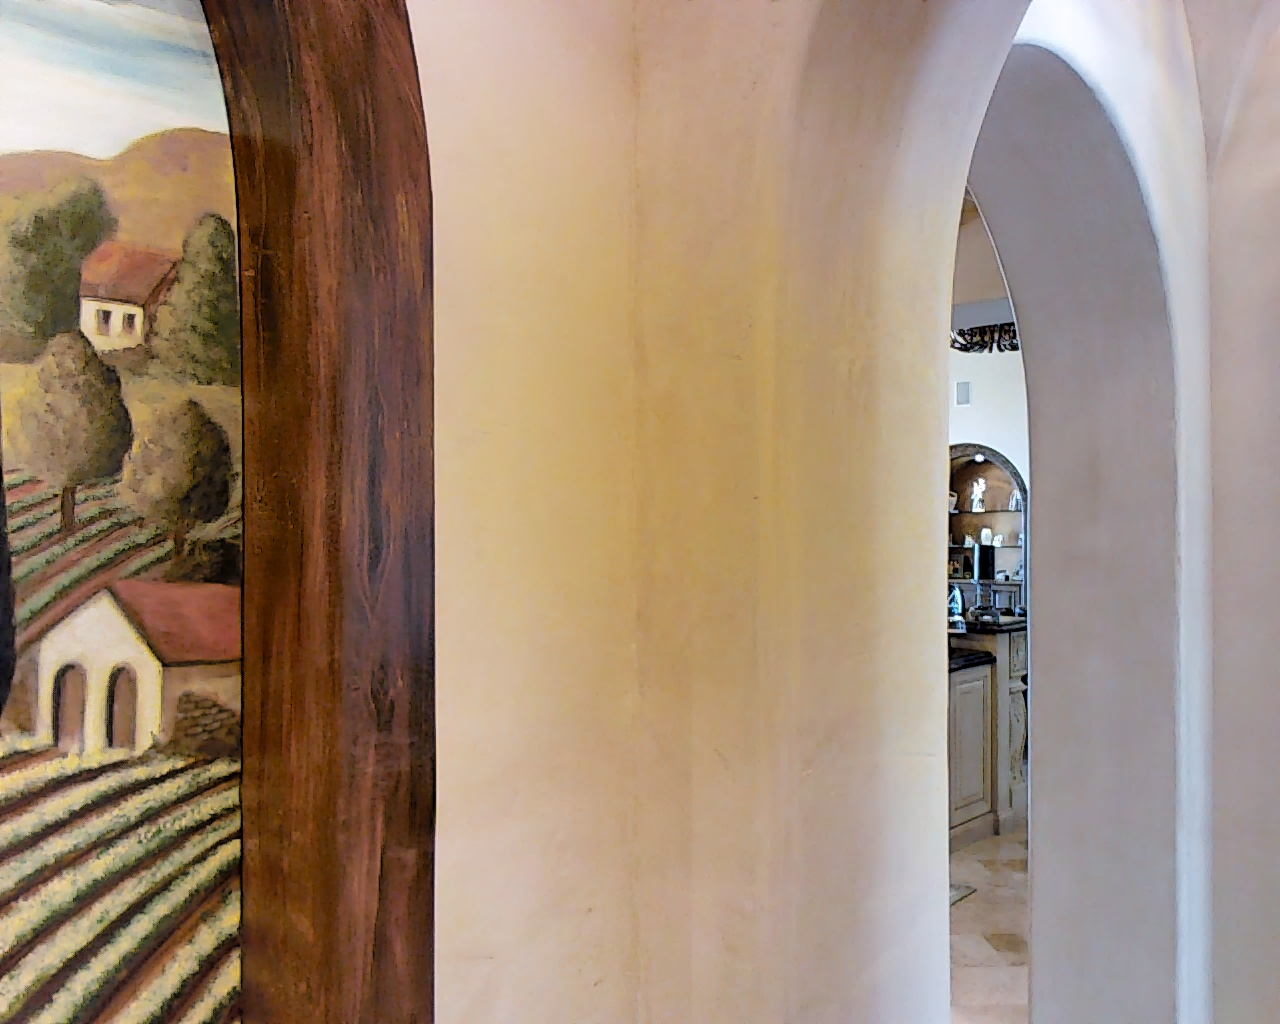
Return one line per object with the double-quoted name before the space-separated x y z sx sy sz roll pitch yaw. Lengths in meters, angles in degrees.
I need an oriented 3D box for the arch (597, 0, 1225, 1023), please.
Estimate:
"arch" 0.610 0.130 1.970 0.440 2.930 1.490 -1 -1 44
